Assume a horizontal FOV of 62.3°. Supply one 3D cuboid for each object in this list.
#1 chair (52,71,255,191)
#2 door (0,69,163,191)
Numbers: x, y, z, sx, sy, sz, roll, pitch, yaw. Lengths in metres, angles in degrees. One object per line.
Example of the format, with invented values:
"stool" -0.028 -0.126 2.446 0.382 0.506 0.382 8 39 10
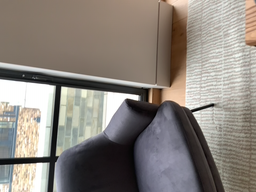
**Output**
"chair" 0.100 0.430 1.160 0.750 0.820 0.710 -47 47 46
"door" -0.730 0.410 1.250 0.070 2.320 1.120 -7 79 59
